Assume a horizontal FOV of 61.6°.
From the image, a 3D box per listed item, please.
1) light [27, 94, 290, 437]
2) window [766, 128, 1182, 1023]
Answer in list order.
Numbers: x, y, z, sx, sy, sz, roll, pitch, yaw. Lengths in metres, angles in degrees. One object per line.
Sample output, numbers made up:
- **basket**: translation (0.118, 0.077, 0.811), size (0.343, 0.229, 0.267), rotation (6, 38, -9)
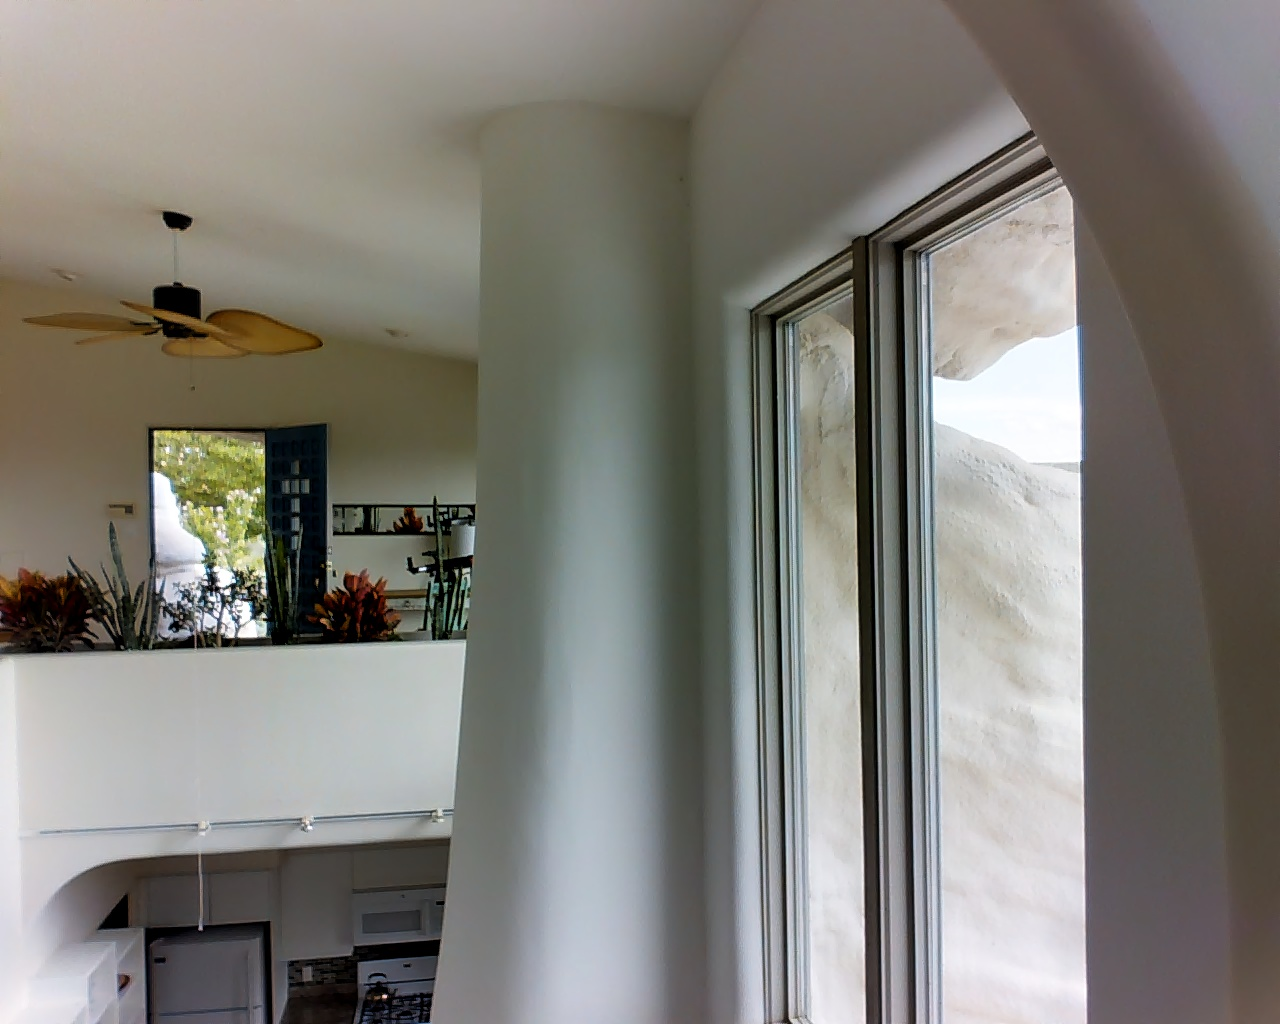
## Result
- **light**: translation (-2.179, -1.080, 4.960), size (0.970, 1.420, 0.610), rotation (-1, 0, -9)
- **window**: translation (0.470, 0.410, 1.940), size (0.070, 1.691, 1.450), rotation (-1, 0, -9)
